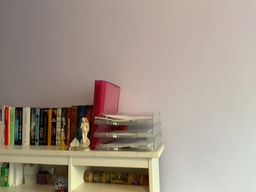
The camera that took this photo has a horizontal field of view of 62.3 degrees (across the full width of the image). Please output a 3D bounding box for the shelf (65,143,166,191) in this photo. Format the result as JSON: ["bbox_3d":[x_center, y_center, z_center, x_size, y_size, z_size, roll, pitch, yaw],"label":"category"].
[{"bbox_3d":[-0.040,0.550,1.010,0.420,0.600,0.280,-2,-6,14],"label":"shelf"}]

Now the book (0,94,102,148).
[{"bbox_3d":[-0.640,0.150,1.250,0.970,0.270,0.170,-2,-6,13],"label":"book"}]
